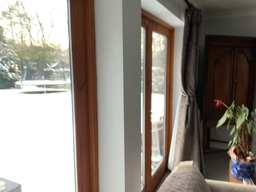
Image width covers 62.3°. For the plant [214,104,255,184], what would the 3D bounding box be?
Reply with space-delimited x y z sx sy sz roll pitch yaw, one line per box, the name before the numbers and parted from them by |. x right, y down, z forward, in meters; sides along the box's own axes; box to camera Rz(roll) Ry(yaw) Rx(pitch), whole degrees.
plant | 0.940 0.390 1.860 0.290 0.560 0.360 4 10 25
